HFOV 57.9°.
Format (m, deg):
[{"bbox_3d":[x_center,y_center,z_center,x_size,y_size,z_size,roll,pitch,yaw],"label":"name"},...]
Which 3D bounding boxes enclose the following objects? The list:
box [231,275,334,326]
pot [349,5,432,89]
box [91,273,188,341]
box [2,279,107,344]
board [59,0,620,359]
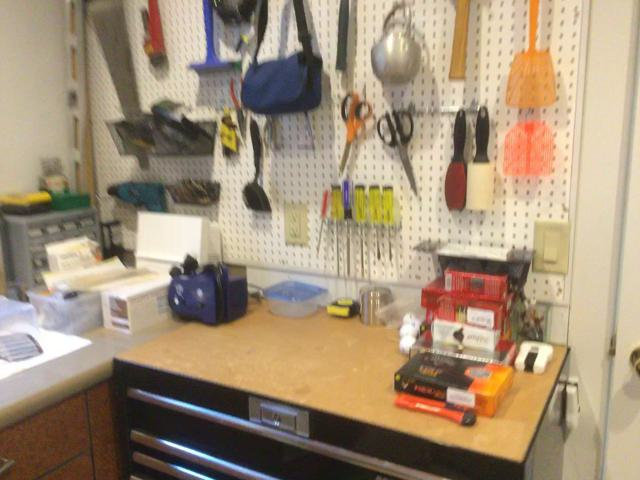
[{"bbox_3d":[-0.100,0.160,1.580,0.230,0.070,0.160,5,13,28],"label":"box"},{"bbox_3d":[0.160,-0.430,1.310,0.150,0.160,0.120,5,13,28],"label":"pot"},{"bbox_3d":[-0.470,0.170,1.520,0.140,0.110,0.190,5,13,28],"label":"box"},{"bbox_3d":[-0.690,0.180,1.500,0.260,0.110,0.100,5,13,28],"label":"box"},{"bbox_3d":[-0.090,-0.480,1.470,1.510,1.340,0.120,5,13,28],"label":"board"}]
